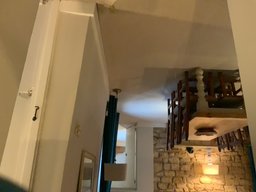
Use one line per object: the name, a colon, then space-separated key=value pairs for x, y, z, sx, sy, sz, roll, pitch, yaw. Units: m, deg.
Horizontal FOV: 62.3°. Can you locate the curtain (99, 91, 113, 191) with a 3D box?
curtain: x=-0.430 y=1.000 z=4.180 sx=0.170 sy=2.200 sz=0.420 roll=2 pitch=161 yaw=-3

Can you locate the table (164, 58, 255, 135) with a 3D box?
table: x=1.290 y=0.140 z=3.700 sx=0.960 sy=0.800 sz=1.740 roll=2 pitch=161 yaw=-2
